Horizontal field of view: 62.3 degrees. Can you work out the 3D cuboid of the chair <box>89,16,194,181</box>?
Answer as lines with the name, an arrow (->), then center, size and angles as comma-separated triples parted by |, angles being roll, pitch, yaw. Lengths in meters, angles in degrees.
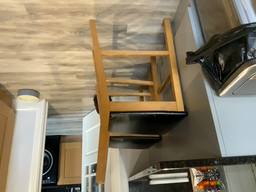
chair -> 0.020, 0.010, 1.290 | 0.480, 0.910, 0.370 | -1, 158, -7
